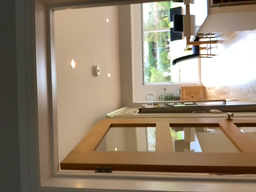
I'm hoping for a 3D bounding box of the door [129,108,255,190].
[{"bbox_3d":[0.850,0.250,1.280,0.820,1.610,0.110,-67,-26,-74],"label":"door"}]
